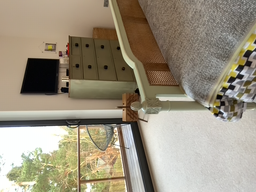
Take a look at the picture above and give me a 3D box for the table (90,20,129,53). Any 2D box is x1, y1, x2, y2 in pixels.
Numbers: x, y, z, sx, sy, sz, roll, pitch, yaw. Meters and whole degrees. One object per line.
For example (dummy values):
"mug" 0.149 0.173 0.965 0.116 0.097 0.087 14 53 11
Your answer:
"table" -0.390 -1.210 4.330 0.360 0.690 0.570 107 158 -46
